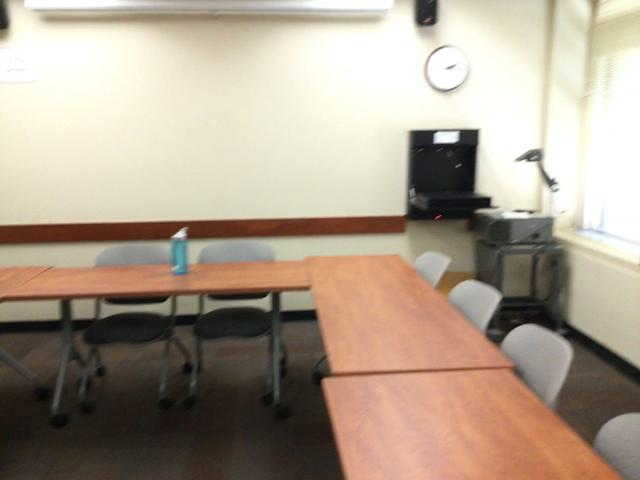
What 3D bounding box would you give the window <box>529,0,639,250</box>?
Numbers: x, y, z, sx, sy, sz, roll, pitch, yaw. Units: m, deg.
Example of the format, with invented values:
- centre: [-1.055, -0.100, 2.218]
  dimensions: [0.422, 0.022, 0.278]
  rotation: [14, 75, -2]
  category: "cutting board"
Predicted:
- centre: [1.940, -0.830, 3.560]
  dimensions: [0.660, 1.520, 1.360]
  rotation: [-3, 11, -5]
  category: "window"
